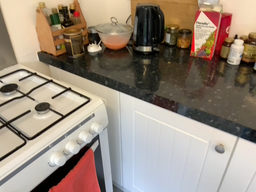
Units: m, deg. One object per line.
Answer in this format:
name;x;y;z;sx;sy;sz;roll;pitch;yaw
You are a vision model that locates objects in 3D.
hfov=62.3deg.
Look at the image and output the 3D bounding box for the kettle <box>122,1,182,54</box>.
kettle;0.130;-0.390;1.180;0.240;0.210;0.210;20;39;29
